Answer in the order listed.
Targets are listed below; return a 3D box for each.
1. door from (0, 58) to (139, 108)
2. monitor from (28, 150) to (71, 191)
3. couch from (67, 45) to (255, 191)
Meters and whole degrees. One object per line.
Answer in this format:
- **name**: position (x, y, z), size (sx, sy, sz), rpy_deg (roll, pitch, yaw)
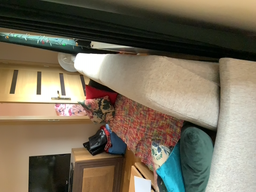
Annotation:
- **door**: position (-0.890, -0.170, 2.930), size (0.790, 1.980, 0.140), rpy_deg (-114, 35, -46)
- **monitor**: position (-1.210, 1.300, 3.250), size (0.070, 0.580, 0.950), rpy_deg (-151, 66, -64)
- **couch**: position (0.130, 0.130, 1.870), size (2.070, 0.990, 0.990), rpy_deg (-150, 65, -64)
